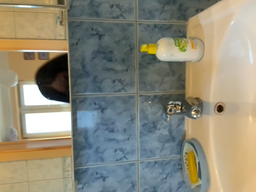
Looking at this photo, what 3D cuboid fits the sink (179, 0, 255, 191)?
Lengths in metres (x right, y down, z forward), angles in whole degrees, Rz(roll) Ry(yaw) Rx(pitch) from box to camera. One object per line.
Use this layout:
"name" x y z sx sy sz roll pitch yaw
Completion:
"sink" 0.270 0.040 0.470 0.380 0.140 0.520 -151 61 -77
